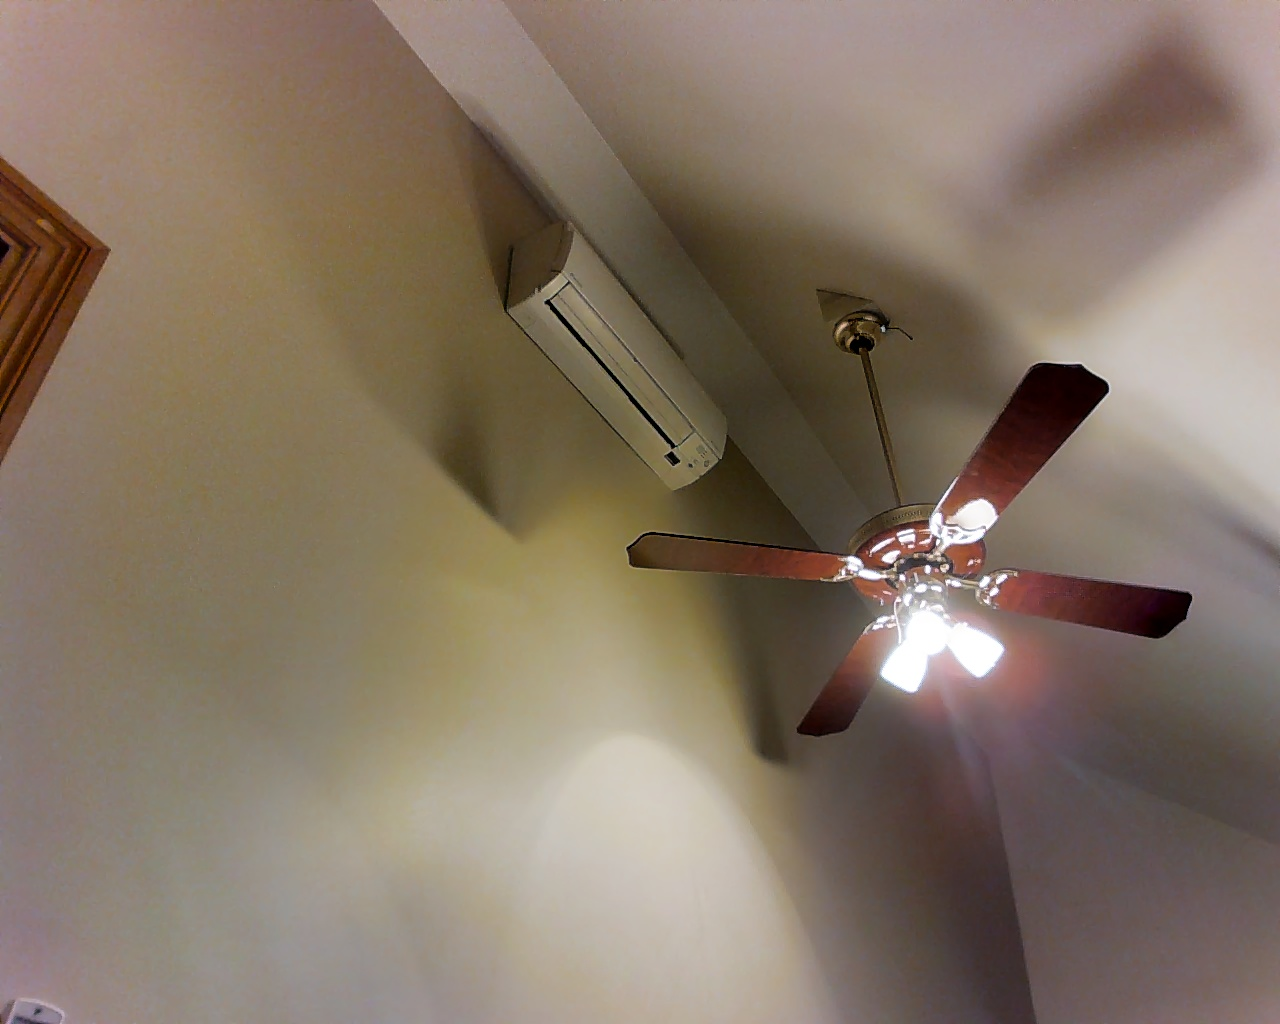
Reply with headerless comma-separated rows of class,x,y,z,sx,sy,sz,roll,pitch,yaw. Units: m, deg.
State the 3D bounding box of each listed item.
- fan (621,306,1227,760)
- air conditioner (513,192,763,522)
fan,0.630,0.140,2.320,0.970,0.150,0.960,-24,-46,24
air conditioner,0.020,-0.400,2.980,0.220,0.390,0.880,-24,-46,24
